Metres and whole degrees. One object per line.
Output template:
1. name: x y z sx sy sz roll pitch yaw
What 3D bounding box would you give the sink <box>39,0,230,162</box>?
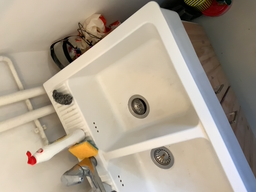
1. sink: -0.040 0.000 0.940 0.780 0.180 0.400 -26 89 35

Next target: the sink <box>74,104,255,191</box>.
1. sink: 0.130 0.360 0.950 0.780 0.170 0.380 -26 89 35
